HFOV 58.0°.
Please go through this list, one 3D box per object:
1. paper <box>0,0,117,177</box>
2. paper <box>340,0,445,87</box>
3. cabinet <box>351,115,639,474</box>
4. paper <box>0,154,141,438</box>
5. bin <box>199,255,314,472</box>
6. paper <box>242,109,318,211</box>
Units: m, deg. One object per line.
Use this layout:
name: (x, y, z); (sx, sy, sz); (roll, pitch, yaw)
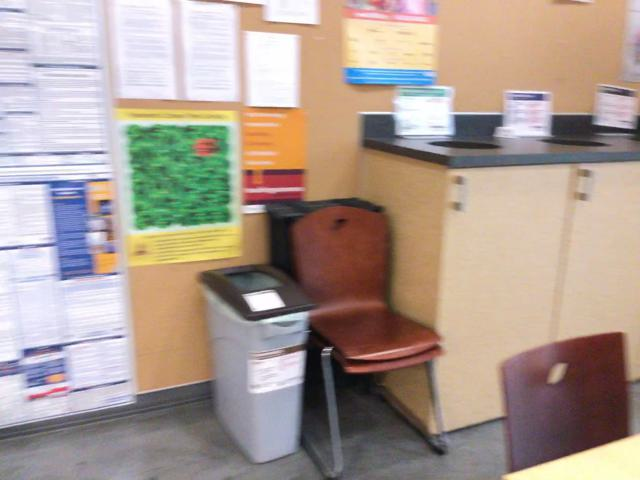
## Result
paper: (-1.040, -0.590, 1.910); (0.620, 0.750, 0.050); (-8, 17, -23)
paper: (0.310, -0.960, 2.420); (0.480, 0.610, 0.050); (-8, 17, -23)
cabinet: (1.170, 0.080, 2.680); (1.920, 1.190, 0.750); (-8, 17, -23)
paper: (-1.080, 0.230, 2.130); (0.650, 1.010, 0.040); (-11, 18, -20)
bin: (-0.260, 0.450, 2.280); (0.270, 0.660, 0.490); (-8, 15, -24)
paper: (-0.160, -0.330, 2.370); (0.290, 0.390, 0.070); (-8, 17, -23)
